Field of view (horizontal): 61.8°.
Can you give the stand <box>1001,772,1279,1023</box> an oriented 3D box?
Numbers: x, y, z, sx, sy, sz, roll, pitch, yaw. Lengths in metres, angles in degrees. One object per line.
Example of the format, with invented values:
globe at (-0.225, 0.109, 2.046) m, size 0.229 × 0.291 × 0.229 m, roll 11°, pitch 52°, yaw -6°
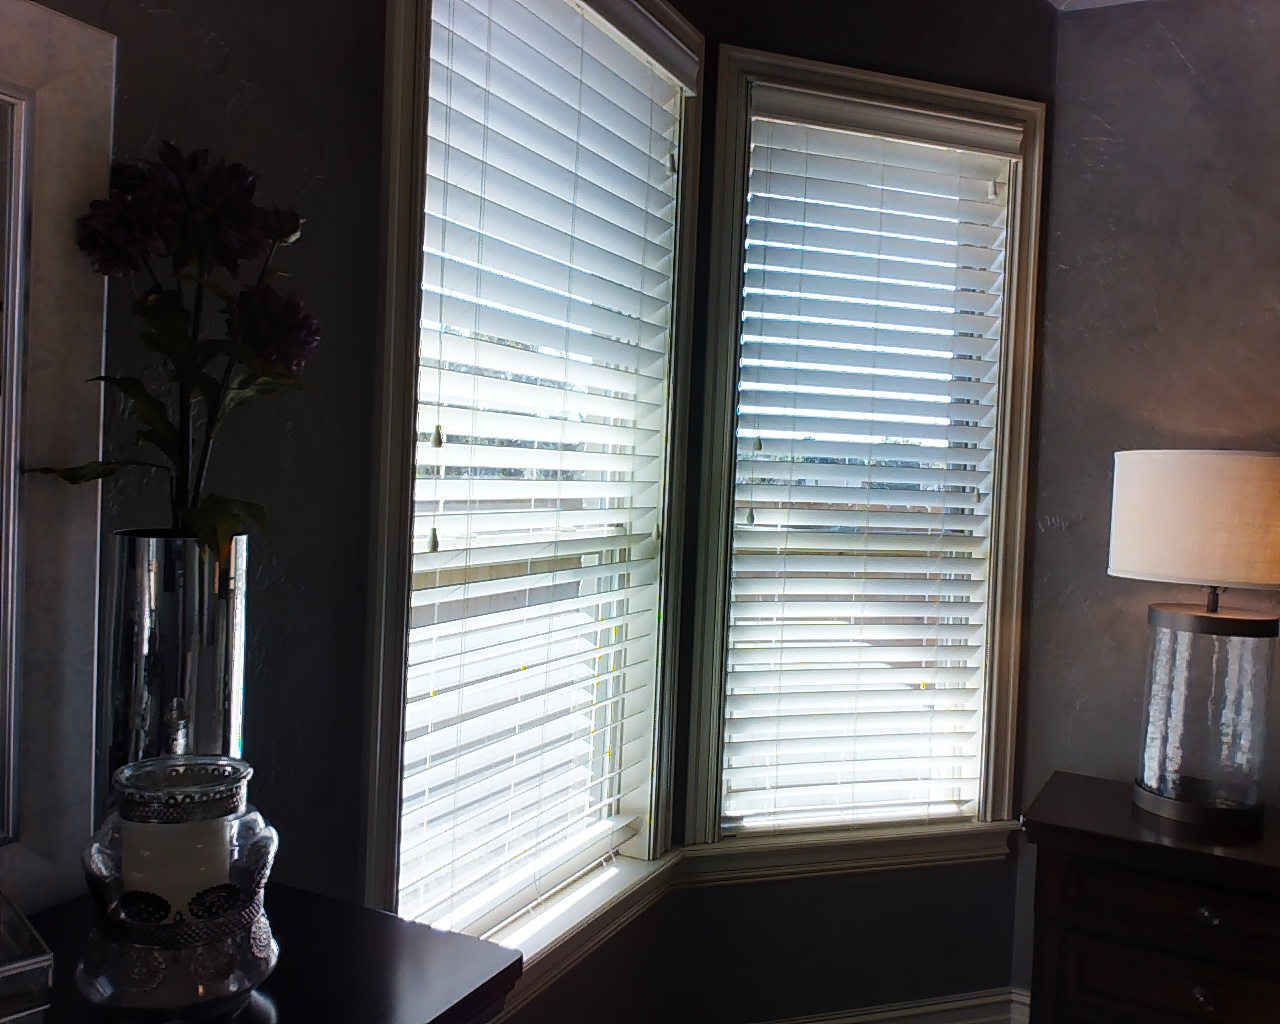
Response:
stand at (1.320, 1.070, 2.330) m, size 0.930 × 0.740 × 0.610 m, roll 3°, pitch 1°, yaw 27°
